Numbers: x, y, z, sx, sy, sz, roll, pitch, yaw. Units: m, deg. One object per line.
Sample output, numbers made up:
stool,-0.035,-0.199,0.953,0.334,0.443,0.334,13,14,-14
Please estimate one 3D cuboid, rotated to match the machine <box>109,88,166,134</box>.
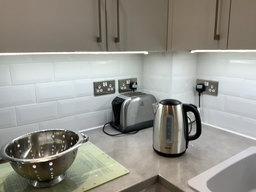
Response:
machine,0.060,0.080,1.320,0.300,0.200,0.180,-9,15,-34
